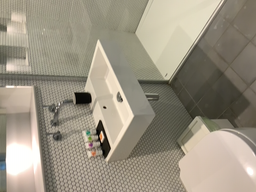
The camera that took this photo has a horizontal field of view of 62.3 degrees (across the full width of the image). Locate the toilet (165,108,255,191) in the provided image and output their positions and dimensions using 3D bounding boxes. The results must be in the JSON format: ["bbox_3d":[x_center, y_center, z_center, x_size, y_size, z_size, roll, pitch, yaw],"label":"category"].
[{"bbox_3d":[0.600,0.390,1.150,0.540,0.460,0.390,-60,43,39],"label":"toilet"}]

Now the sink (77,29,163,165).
[{"bbox_3d":[-0.110,-0.020,1.300,0.710,0.160,0.430,63,141,36],"label":"sink"}]
